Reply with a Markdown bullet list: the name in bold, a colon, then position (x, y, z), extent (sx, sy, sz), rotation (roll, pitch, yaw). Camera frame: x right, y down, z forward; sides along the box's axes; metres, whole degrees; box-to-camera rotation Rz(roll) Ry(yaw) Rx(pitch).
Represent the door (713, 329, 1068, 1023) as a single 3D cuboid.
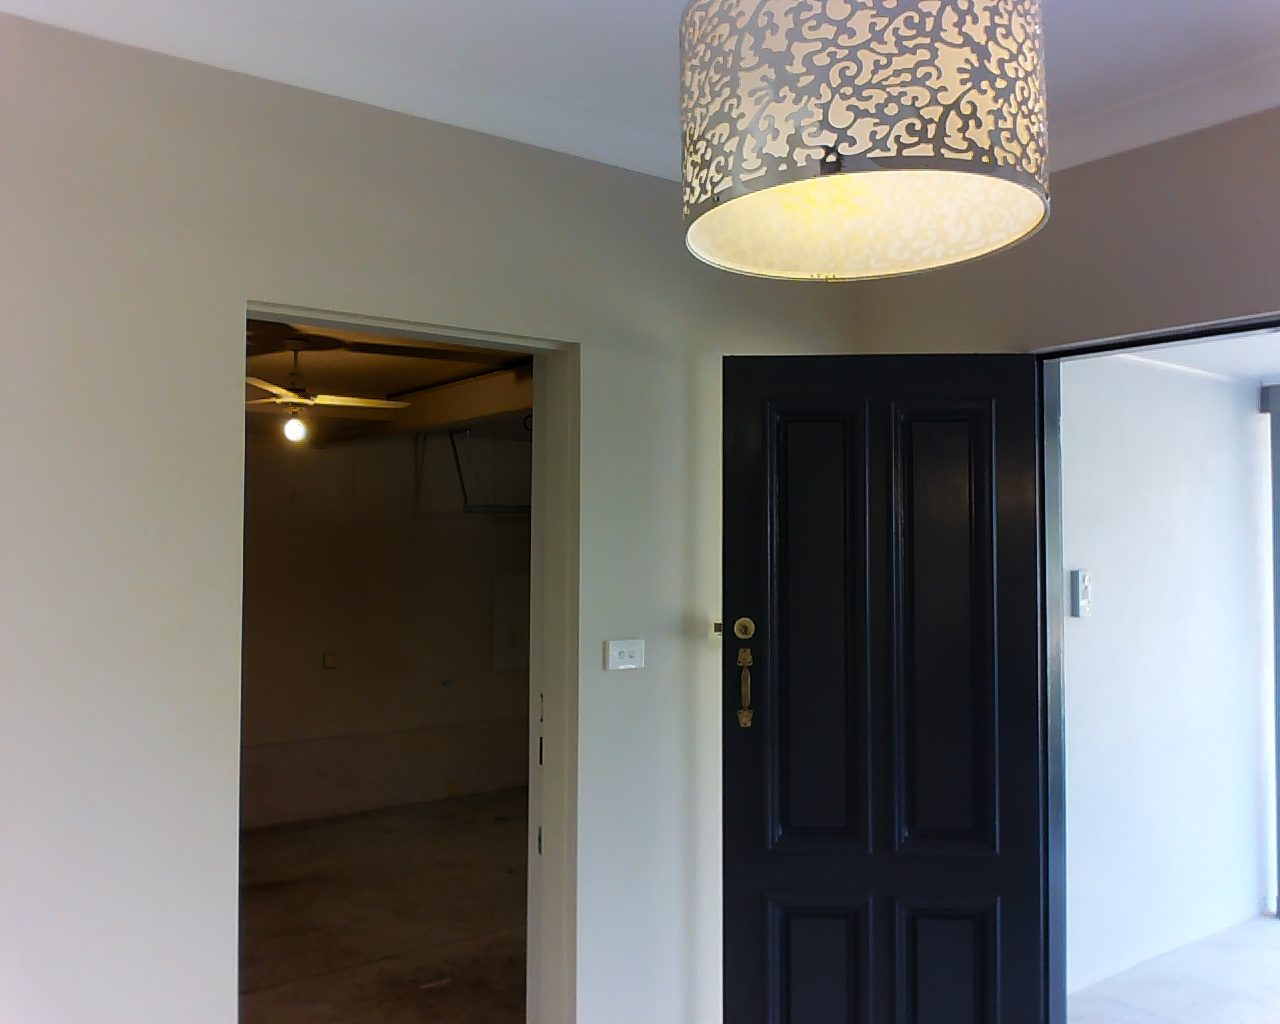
- **door**: position (0.640, 0.580, 2.790), extent (0.880, 2.081, 0.180), rotation (0, -2, -3)
